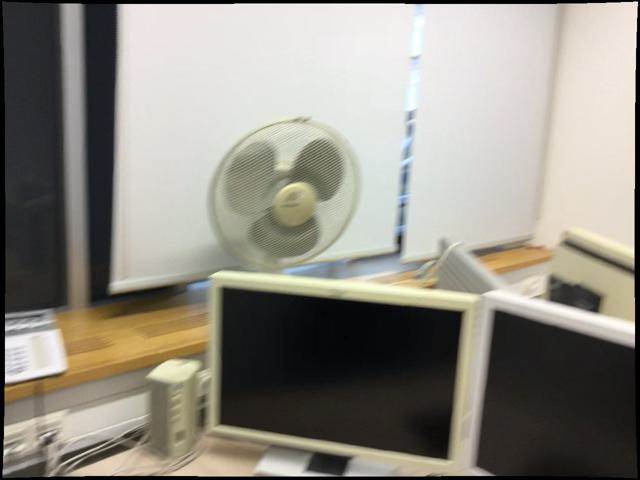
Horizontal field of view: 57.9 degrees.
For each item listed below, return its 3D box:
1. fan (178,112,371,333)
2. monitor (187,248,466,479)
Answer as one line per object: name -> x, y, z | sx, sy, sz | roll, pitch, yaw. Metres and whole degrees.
fan -> -0.130, -0.090, 1.700 | 0.420, 0.551, 0.350 | -11, 18, -39
monitor -> 0.020, 0.300, 1.320 | 0.559, 0.470, 0.250 | 5, 14, 18
